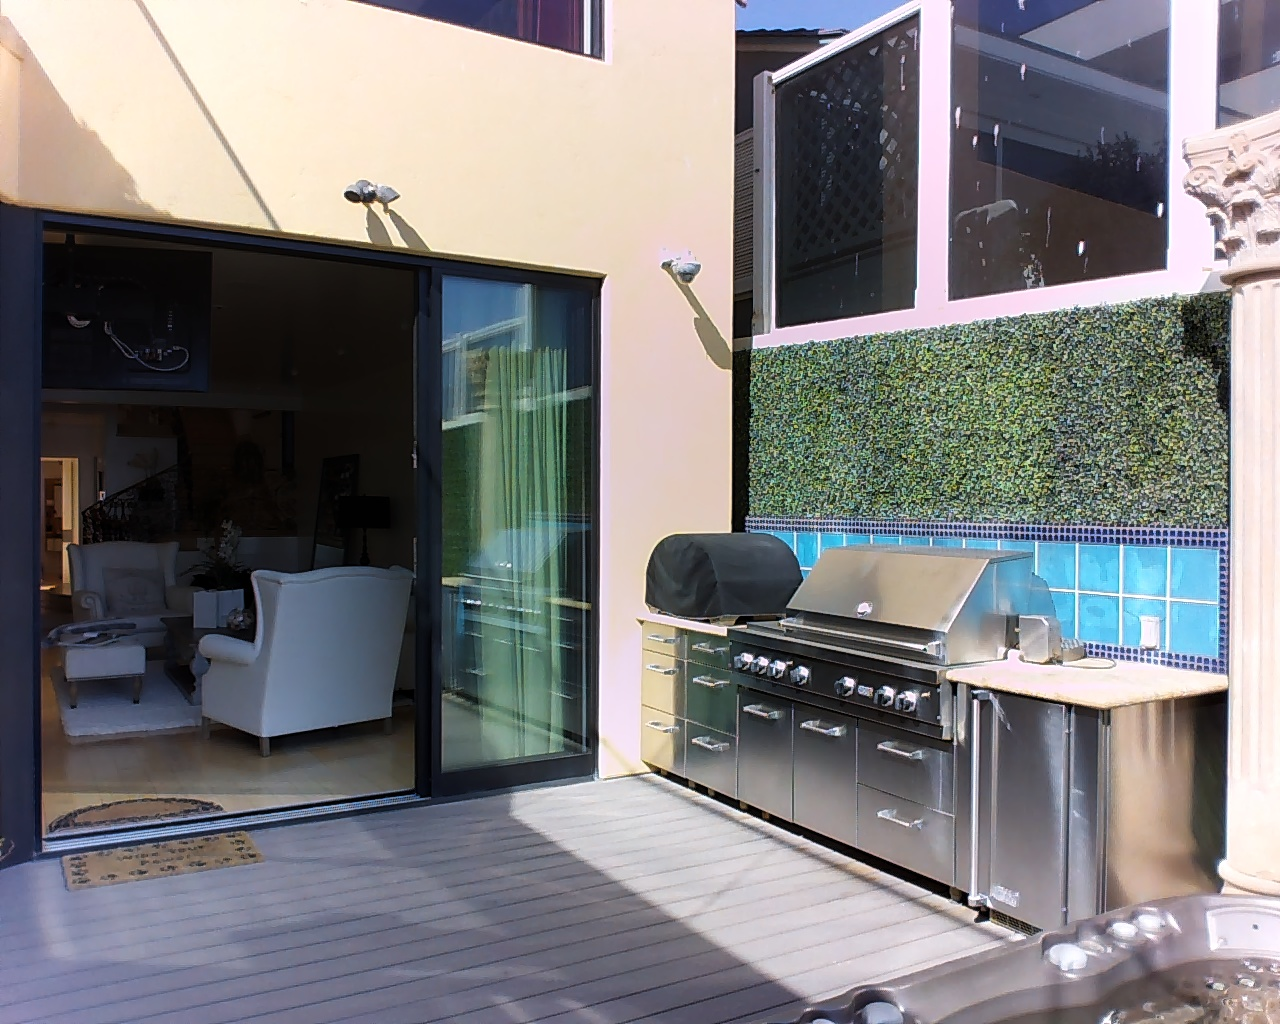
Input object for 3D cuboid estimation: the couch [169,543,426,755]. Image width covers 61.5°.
[{"bbox_3d":[-2.159,0.790,6.800,1.060,1.110,1.170,1,1,42],"label":"couch"}]
